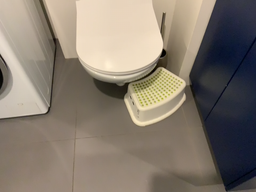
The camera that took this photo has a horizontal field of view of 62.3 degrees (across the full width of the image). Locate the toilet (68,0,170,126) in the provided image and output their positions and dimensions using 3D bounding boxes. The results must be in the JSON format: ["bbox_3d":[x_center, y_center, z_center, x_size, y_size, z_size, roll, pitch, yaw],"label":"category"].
[{"bbox_3d":[-0.060,-0.190,1.110,0.380,0.440,0.520,-5,56,-4],"label":"toilet"}]

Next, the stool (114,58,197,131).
[{"bbox_3d":[0.150,-0.020,1.190,0.370,0.120,0.250,-31,62,-19],"label":"stool"}]
